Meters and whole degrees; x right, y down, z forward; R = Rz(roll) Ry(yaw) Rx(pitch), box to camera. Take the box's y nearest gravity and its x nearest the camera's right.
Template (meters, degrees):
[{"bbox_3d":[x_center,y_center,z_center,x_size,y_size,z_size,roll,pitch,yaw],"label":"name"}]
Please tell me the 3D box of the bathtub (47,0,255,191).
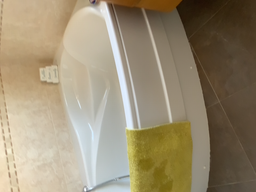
[{"bbox_3d":[0.000,0.130,1.470,0.980,0.590,1.490,-40,63,49],"label":"bathtub"}]
